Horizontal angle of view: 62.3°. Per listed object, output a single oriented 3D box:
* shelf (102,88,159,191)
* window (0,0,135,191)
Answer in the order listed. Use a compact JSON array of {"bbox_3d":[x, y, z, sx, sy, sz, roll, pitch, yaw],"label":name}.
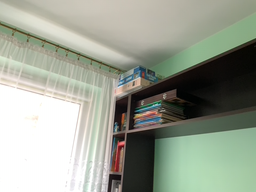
[{"bbox_3d":[0.010,0.590,1.630,0.270,1.240,0.310,18,-23,-31],"label":"shelf"},{"bbox_3d":[-0.770,0.120,1.230,1.800,1.390,0.170,19,-24,-33],"label":"window"}]
